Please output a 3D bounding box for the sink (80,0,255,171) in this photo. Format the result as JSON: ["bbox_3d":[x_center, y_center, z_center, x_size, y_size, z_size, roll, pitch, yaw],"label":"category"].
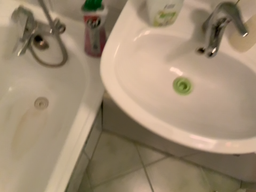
[{"bbox_3d":[0.180,-0.050,0.650,0.510,0.220,0.380,19,69,1],"label":"sink"}]
